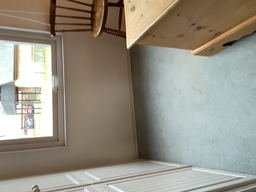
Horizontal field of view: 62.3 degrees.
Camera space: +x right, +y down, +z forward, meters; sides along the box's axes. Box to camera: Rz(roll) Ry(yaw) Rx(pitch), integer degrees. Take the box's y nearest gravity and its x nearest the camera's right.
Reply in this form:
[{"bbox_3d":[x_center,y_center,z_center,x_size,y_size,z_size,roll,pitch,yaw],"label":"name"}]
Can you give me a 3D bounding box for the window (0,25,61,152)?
[{"bbox_3d":[-1.150,-0.060,1.840,0.270,1.010,1.060,-21,71,62],"label":"window"}]
